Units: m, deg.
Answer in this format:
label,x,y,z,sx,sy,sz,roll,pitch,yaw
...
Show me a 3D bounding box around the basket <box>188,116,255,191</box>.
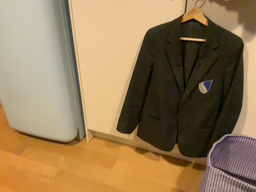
label,x,y,z,sx,sy,sz,roll,pitch,yaw
basket,0.570,0.430,1.000,0.510,0.420,0.420,9,30,15
